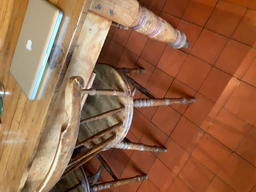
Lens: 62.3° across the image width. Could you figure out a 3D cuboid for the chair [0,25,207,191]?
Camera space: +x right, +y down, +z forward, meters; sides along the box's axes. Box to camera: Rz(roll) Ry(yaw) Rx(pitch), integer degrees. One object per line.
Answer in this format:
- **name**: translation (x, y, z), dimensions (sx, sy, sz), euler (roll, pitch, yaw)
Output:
- **chair**: translation (-0.080, 0.080, 1.000), dimensions (0.460, 0.790, 0.460), euler (39, 111, 34)
